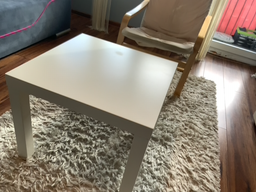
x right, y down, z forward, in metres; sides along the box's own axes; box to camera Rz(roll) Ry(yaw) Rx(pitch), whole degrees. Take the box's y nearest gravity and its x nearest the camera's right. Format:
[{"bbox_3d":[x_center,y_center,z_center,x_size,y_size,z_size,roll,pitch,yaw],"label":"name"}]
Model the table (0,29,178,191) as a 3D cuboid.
[{"bbox_3d":[-0.140,0.040,1.050,0.570,0.460,0.580,20,35,10],"label":"table"}]
